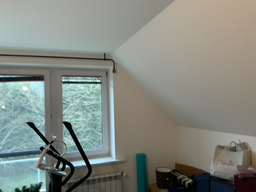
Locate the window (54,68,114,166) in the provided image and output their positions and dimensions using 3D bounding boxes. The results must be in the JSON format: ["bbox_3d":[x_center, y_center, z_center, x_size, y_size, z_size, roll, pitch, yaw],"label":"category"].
[{"bbox_3d":[-0.690,0.300,3.360,0.900,1.450,0.180,-1,-2,-20],"label":"window"}]
